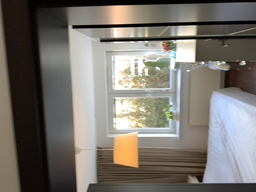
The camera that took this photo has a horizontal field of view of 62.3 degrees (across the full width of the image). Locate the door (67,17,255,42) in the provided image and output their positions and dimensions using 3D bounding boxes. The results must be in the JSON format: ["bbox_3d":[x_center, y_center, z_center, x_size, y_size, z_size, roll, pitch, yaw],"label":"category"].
[{"bbox_3d":[0.820,-0.380,1.260,0.790,2.140,0.080,-88,-3,-77],"label":"door"}]
